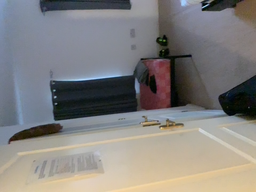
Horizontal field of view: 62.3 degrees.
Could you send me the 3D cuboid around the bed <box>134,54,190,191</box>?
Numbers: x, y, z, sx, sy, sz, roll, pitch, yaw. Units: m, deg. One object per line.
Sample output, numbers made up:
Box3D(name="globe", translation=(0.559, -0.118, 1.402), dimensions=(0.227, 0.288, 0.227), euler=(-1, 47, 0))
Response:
Box3D(name="bed", translation=(0.510, 0.370, 3.400), dimensions=(1.050, 0.460, 1.980), euler=(-150, 56, -73))
